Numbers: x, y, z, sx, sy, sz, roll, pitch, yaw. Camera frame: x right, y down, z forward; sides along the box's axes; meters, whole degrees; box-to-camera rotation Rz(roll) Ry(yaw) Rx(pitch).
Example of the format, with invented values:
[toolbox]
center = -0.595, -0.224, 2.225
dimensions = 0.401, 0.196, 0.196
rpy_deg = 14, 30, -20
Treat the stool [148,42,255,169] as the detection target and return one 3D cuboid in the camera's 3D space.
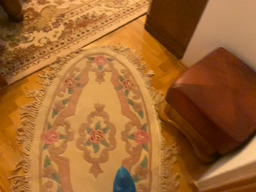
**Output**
[stool]
center = 0.440, 0.060, 1.180
dimensions = 0.430, 0.390, 0.420
rpy_deg = -35, 70, -22
